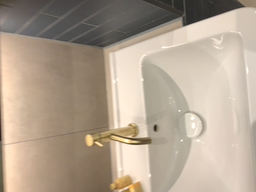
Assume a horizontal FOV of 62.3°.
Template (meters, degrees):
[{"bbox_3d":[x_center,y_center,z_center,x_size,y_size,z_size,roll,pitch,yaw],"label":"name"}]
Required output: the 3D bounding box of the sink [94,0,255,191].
[{"bbox_3d":[0.160,0.090,0.660,0.540,0.210,0.550,-6,88,45],"label":"sink"}]
